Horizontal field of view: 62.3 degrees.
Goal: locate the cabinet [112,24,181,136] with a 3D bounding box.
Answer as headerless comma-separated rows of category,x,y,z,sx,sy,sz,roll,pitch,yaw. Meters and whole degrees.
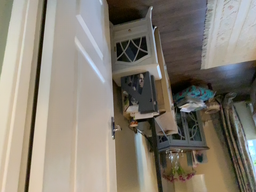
cabinet,0.260,-0.090,2.490,0.520,0.880,1.070,-10,158,13

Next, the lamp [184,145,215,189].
lamp,1.190,1.190,3.580,0.310,0.660,0.280,-4,159,-1
